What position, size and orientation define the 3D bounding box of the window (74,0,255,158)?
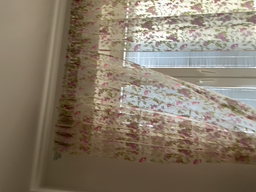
[{"bbox_3d":[0.470,-0.380,1.650,0.300,1.600,1.570,41,-129,-76],"label":"window"}]
